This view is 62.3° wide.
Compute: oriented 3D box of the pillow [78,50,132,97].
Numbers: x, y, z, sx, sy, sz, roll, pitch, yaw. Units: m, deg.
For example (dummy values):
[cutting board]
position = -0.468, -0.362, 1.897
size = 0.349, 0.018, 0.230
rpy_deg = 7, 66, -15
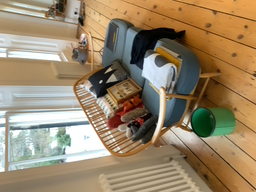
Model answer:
[pillow]
position = -0.290, -0.290, 2.550
size = 0.540, 0.440, 0.120
rpy_deg = 36, 166, 42

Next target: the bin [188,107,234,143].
[bin]
position = 0.660, 0.220, 1.710
size = 0.150, 0.220, 0.310
rpy_deg = -1, -176, -30
